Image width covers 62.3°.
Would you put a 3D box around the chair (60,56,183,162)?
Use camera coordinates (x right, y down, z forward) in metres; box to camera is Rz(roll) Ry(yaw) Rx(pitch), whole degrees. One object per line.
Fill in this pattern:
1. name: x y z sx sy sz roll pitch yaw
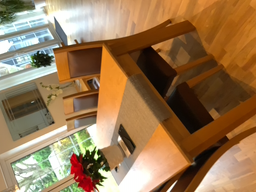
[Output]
1. chair: -0.080 0.110 2.220 0.610 1.010 0.490 57 154 19

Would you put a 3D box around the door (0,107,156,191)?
1. door: -0.790 1.570 3.720 2.370 2.100 0.160 56 154 22

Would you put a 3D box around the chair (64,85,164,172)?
1. chair: -0.190 0.390 2.690 0.600 1.010 0.480 58 154 17

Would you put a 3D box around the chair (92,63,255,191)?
1. chair: 0.370 0.310 1.460 0.630 1.020 0.470 57 154 18

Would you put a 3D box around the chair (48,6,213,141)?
1. chair: 0.010 -0.230 1.720 0.670 1.010 0.470 55 153 23
